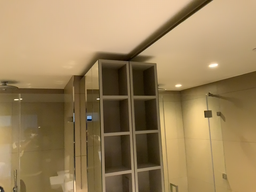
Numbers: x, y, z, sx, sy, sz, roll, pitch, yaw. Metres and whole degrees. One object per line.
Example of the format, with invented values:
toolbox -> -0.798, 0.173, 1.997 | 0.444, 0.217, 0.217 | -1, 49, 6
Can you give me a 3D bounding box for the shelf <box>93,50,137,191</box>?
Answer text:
shelf -> -0.100, 0.260, 1.520 | 0.210, 1.130, 0.230 | 0, -8, -24
